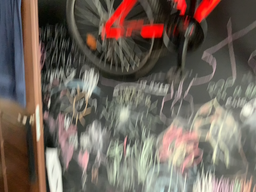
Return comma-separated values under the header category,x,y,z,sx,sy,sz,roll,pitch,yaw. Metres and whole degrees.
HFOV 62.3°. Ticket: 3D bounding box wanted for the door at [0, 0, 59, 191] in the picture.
category,x,y,z,sx,sy,sz,roll,pitch,yaw
door,-0.960,0.220,1.790,0.890,2.220,0.220,12,15,36
